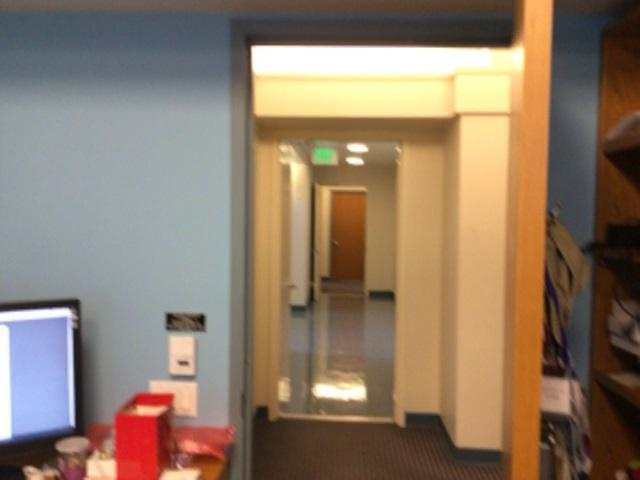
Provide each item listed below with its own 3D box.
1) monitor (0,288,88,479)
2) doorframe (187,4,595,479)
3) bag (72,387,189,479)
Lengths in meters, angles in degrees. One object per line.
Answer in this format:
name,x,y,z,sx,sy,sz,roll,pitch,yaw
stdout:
monitor,-0.970,0.420,1.570,0.610,0.540,0.130,0,3,-34
doorframe,0.190,0.360,1.880,1.170,2.100,0.230,2,3,1
bag,-0.540,0.580,1.680,0.250,0.220,0.250,2,3,1
